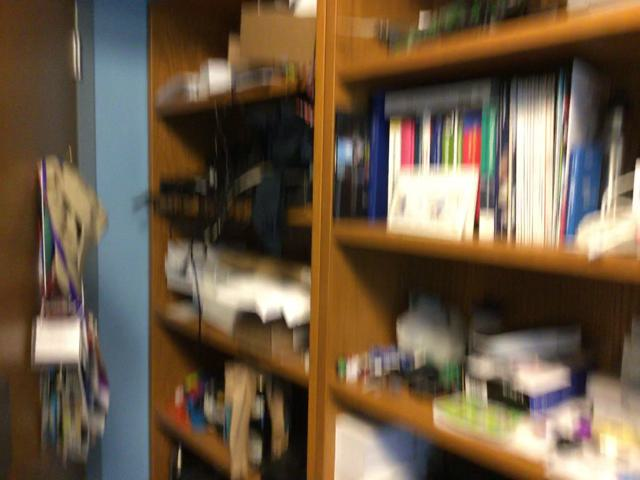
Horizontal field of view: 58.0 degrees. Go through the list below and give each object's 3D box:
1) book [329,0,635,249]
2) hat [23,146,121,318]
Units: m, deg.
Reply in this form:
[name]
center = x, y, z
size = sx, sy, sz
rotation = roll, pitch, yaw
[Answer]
[book]
center = 0.290, -0.190, 1.120
size = 0.290, 0.380, 0.470
rotation = 0, 3, -41
[hat]
center = -0.580, -0.020, 1.350
size = 0.170, 0.370, 0.130
rotation = 0, 3, -41
